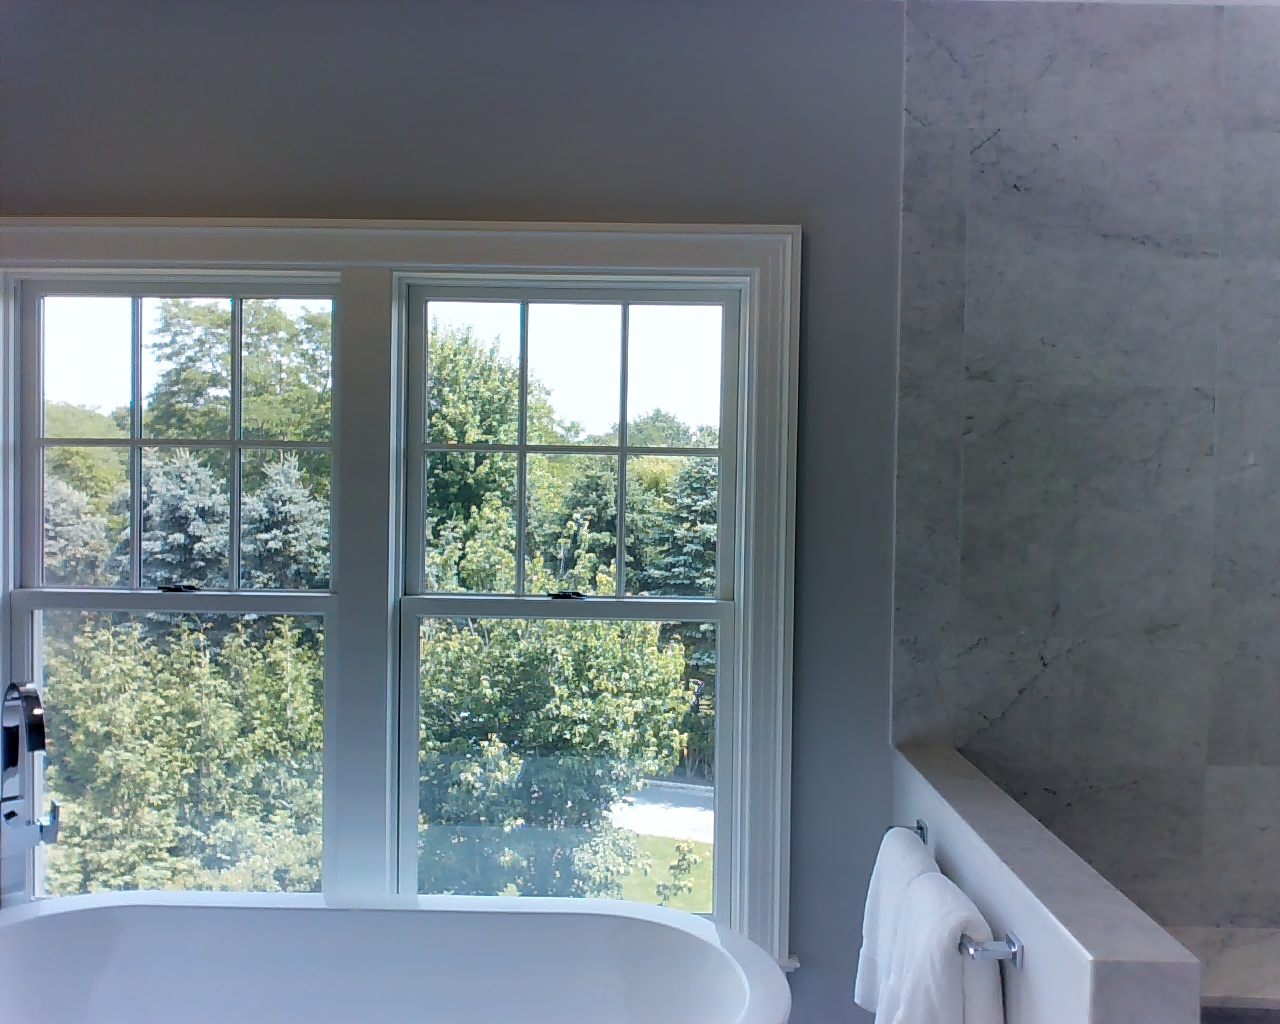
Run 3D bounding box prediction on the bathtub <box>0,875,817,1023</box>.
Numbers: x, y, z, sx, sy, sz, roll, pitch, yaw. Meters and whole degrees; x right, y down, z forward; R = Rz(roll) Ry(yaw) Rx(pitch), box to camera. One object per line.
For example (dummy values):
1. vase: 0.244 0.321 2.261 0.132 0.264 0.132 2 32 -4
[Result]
1. bathtub: -0.630 1.190 2.100 1.870 0.620 0.920 1 1 0
